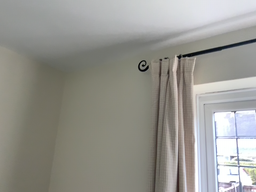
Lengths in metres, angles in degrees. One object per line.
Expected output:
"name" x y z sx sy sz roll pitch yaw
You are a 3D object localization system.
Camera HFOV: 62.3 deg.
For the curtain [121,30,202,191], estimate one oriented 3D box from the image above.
"curtain" 0.140 0.690 0.920 0.320 2.020 0.190 -8 -19 35
